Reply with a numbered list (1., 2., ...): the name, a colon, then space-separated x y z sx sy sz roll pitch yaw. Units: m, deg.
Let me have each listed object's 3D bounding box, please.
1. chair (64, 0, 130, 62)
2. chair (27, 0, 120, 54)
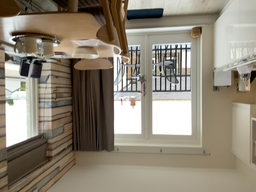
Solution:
1. chair: -0.280 -0.800 2.140 0.550 0.840 0.490 0 -178 8
2. chair: -0.380 -0.790 1.650 0.550 0.830 0.510 0 -178 8
